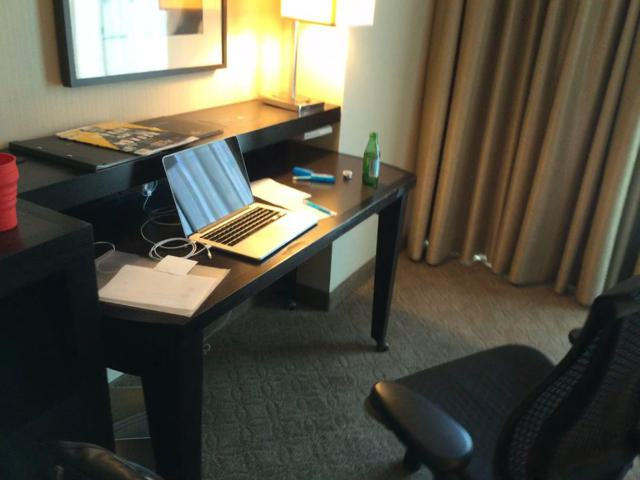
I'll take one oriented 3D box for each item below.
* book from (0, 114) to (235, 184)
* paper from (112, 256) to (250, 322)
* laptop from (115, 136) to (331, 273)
[{"bbox_3d":[-0.510,-0.260,1.550,0.310,0.080,0.520,14,21,25],"label":"book"},{"bbox_3d":[-0.300,0.100,1.260,0.230,0.030,0.180,14,21,25],"label":"paper"},{"bbox_3d":[-0.250,-0.120,1.550,0.420,0.220,0.370,14,21,25],"label":"laptop"}]
